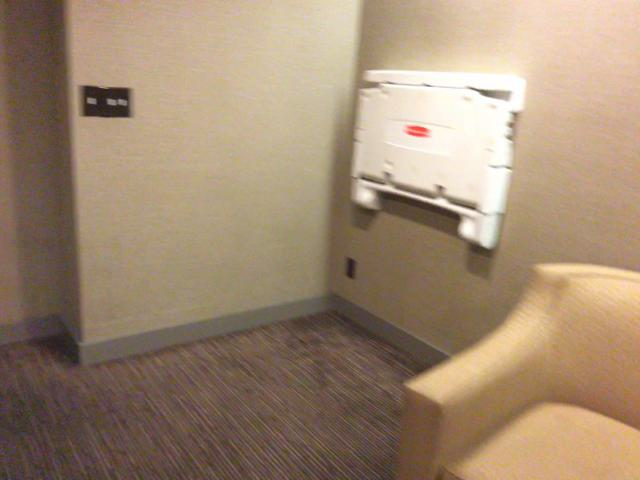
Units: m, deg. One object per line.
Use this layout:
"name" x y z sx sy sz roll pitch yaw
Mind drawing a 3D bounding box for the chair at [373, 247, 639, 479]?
"chair" 0.820 0.580 1.610 0.980 0.840 0.910 -10 17 -44
